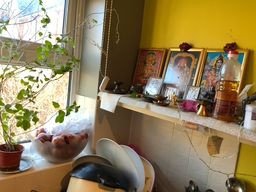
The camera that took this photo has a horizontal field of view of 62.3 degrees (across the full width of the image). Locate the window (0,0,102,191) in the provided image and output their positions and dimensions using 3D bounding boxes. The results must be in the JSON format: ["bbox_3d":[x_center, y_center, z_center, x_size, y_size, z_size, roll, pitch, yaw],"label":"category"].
[{"bbox_3d":[-0.560,-0.190,0.850,0.160,1.180,0.970,12,8,42],"label":"window"}]
